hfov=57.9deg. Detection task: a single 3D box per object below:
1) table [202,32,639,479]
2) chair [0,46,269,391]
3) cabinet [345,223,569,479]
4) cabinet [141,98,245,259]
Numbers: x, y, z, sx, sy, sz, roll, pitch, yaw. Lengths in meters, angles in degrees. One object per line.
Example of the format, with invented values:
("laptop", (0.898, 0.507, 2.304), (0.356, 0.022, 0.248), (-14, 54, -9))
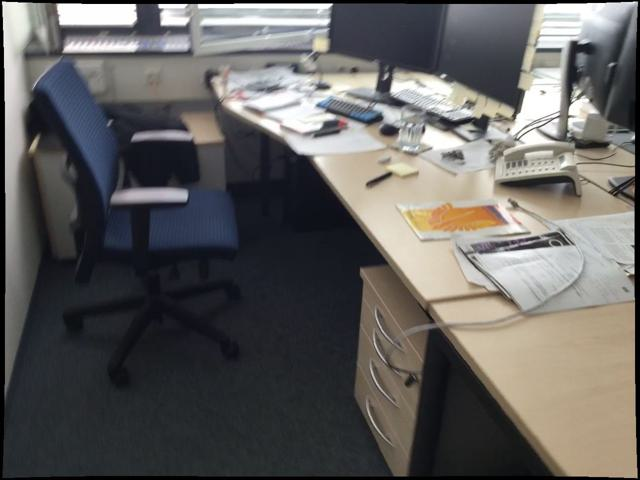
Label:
("table", (0.779, 0.010, 2.050), (1.968, 0.841, 2.920), (-7, 32, -15))
("chair", (-0.589, -0.110, 2.020), (0.689, 0.951, 0.640), (-7, 32, -15))
("cabinet", (0.330, 0.350, 1.650), (0.330, 0.590, 0.520), (-7, 32, -15))
("cabinet", (-0.619, -0.320, 2.800), (0.390, 0.550, 0.600), (-7, 32, -15))
